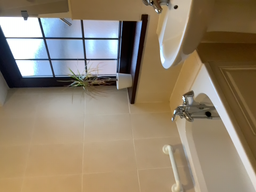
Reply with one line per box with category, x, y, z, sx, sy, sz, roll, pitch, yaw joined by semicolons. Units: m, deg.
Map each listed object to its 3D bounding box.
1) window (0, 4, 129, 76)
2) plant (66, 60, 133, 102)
window;-0.520;-0.430;1.800;0.630;0.990;0.110;100;167;-52
plant;-0.250;-0.130;1.900;0.320;0.540;0.200;99;167;-51
